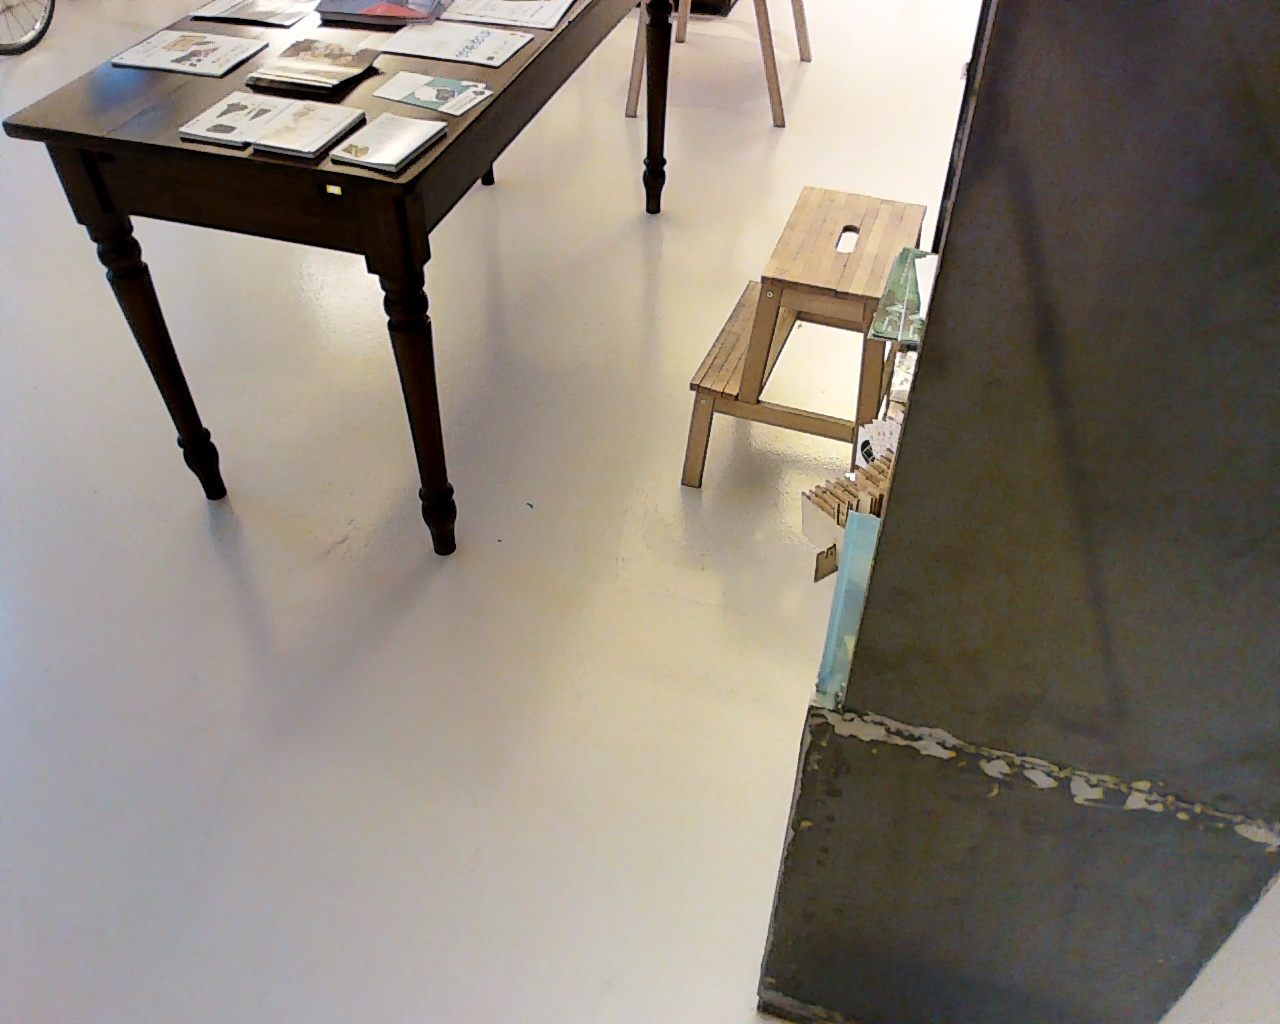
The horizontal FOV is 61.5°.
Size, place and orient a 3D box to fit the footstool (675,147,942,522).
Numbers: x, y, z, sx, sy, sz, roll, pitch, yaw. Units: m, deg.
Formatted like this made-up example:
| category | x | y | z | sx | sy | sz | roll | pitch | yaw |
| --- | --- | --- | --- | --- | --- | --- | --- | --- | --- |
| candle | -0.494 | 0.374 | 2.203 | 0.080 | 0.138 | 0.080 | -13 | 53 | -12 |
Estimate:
| category | x | y | z | sx | sy | sz | roll | pitch | yaw |
| --- | --- | --- | --- | --- | --- | --- | --- | --- | --- |
| footstool | 0.330 | -0.360 | 2.150 | 0.390 | 0.510 | 0.470 | 13 | 44 | 13 |

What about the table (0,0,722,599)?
| category | x | y | z | sx | sy | sz | roll | pitch | yaw |
| --- | --- | --- | --- | --- | --- | --- | --- | --- | --- |
| table | -0.420 | -0.780 | 2.350 | 0.790 | 0.860 | 1.670 | 12 | 44 | 13 |
